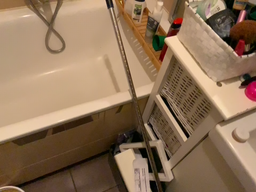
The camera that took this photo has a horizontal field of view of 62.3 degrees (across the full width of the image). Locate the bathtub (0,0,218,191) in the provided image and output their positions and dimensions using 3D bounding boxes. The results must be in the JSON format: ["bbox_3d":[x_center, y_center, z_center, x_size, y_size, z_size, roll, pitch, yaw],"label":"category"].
[{"bbox_3d":[-0.500,-0.020,1.190,1.670,0.610,0.740,-18,60,-19],"label":"bathtub"}]
